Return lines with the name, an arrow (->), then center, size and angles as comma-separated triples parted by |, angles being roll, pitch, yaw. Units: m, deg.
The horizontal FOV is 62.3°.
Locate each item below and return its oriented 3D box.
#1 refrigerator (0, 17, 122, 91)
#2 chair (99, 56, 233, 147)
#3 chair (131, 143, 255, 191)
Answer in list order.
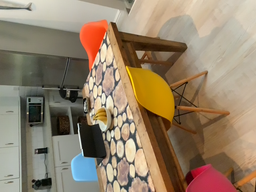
refrigerator -> -1.090, -0.530, 3.000 | 0.640, 1.800, 0.630 | -56, 43, 45
chair -> 0.260, 0.060, 1.630 | 0.510, 0.780, 0.420 | -52, 46, 47
chair -> 0.520, 0.580, 1.150 | 0.510, 0.780, 0.450 | -52, 46, 47
